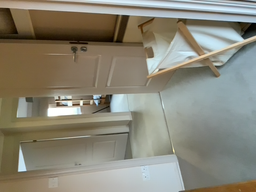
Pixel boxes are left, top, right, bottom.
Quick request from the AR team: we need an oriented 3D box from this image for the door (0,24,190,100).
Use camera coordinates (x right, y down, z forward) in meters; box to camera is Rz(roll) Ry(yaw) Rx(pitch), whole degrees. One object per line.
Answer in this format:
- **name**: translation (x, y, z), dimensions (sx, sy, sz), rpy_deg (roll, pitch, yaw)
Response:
- **door**: translation (-0.560, -0.260, 2.040), dimensions (0.970, 2.070, 0.100), rpy_deg (114, 150, -58)
